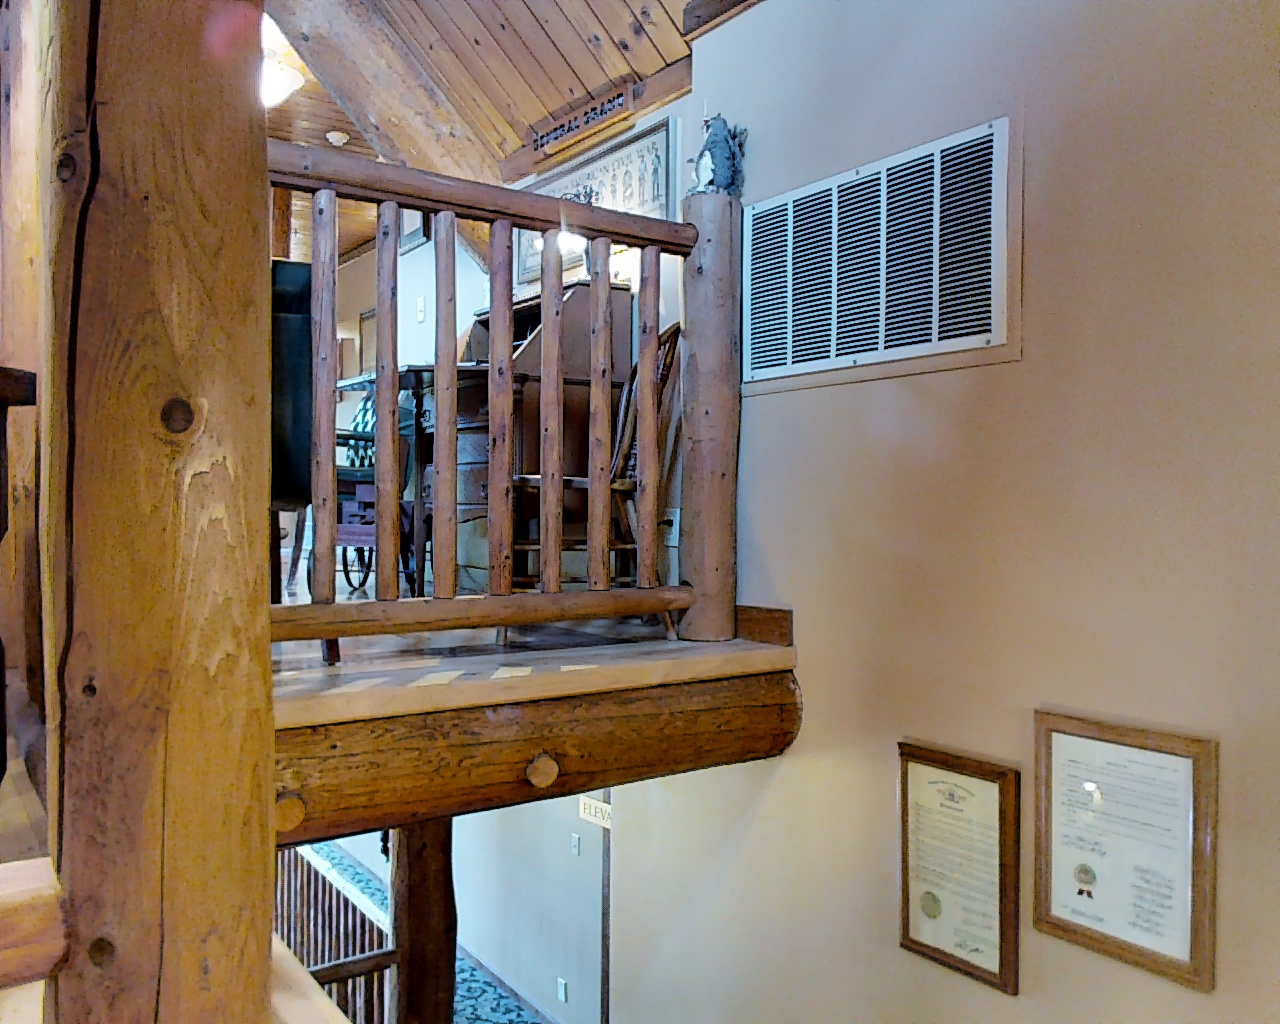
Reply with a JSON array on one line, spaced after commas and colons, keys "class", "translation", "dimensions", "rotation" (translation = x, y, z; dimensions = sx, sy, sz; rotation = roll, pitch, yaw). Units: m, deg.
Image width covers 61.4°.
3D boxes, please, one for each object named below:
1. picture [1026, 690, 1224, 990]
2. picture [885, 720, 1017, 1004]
[{"class": "picture", "translation": [0.860, 0.570, 1.940], "dimensions": [0.020, 0.440, 0.360], "rotation": [0, 1, -34]}, {"class": "picture", "translation": [0.640, 0.710, 2.240], "dimensions": [0.040, 0.500, 0.300], "rotation": [0, 1, -34]}]
